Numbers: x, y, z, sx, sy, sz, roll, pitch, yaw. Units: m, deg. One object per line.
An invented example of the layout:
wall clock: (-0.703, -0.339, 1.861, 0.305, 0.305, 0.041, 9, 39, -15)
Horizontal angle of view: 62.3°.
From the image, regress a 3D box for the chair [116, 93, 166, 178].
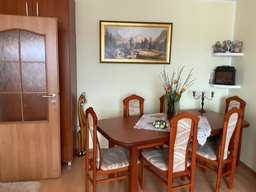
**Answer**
chair: (0.170, 0.510, 2.990, 0.480, 1.010, 0.480, -4, 11, -32)

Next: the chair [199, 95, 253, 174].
chair: (1.420, 0.530, 3.100, 0.540, 1.010, 0.360, -3, 10, -27)

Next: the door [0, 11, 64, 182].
door: (-1.230, 0.050, 2.540, 0.840, 1.980, 0.150, -1, 9, -13)

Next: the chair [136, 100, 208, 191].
chair: (0.450, 0.610, 2.370, 0.480, 1.020, 0.580, -2, 10, -23)

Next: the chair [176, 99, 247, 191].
chair: (1.010, 0.590, 2.640, 0.480, 1.000, 0.580, -6, 12, -38)

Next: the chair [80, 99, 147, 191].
chair: (-0.180, 0.590, 2.340, 0.580, 1.020, 0.480, -3, 10, -26)
